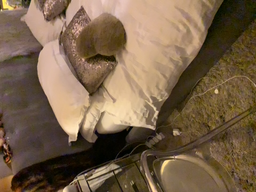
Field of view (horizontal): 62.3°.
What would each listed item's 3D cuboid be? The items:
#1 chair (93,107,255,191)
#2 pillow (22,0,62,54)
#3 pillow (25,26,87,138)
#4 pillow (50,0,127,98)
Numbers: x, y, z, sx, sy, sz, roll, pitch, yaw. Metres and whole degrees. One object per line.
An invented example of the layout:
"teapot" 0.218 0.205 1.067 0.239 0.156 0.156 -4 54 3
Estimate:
"chair" 0.340 0.430 1.000 0.770 0.510 0.460 -9 65 -36
"pillow" -0.840 -0.760 2.030 0.160 0.320 0.690 -13 58 -33
"pillow" -0.510 -0.100 1.530 0.170 0.440 0.670 -21 62 -24
"pillow" -0.300 -0.390 1.370 0.150 0.460 0.640 -15 59 -34
